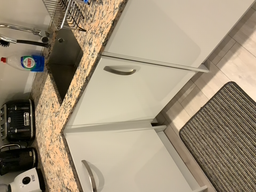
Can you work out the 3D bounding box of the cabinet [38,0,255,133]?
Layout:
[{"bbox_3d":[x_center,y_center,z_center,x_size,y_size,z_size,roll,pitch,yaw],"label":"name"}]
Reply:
[{"bbox_3d":[0.100,-0.380,1.330,1.090,0.910,0.600,-56,50,33],"label":"cabinet"}]

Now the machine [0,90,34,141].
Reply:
[{"bbox_3d":[-0.840,0.150,1.590,0.270,0.160,0.320,-22,72,47],"label":"machine"}]
